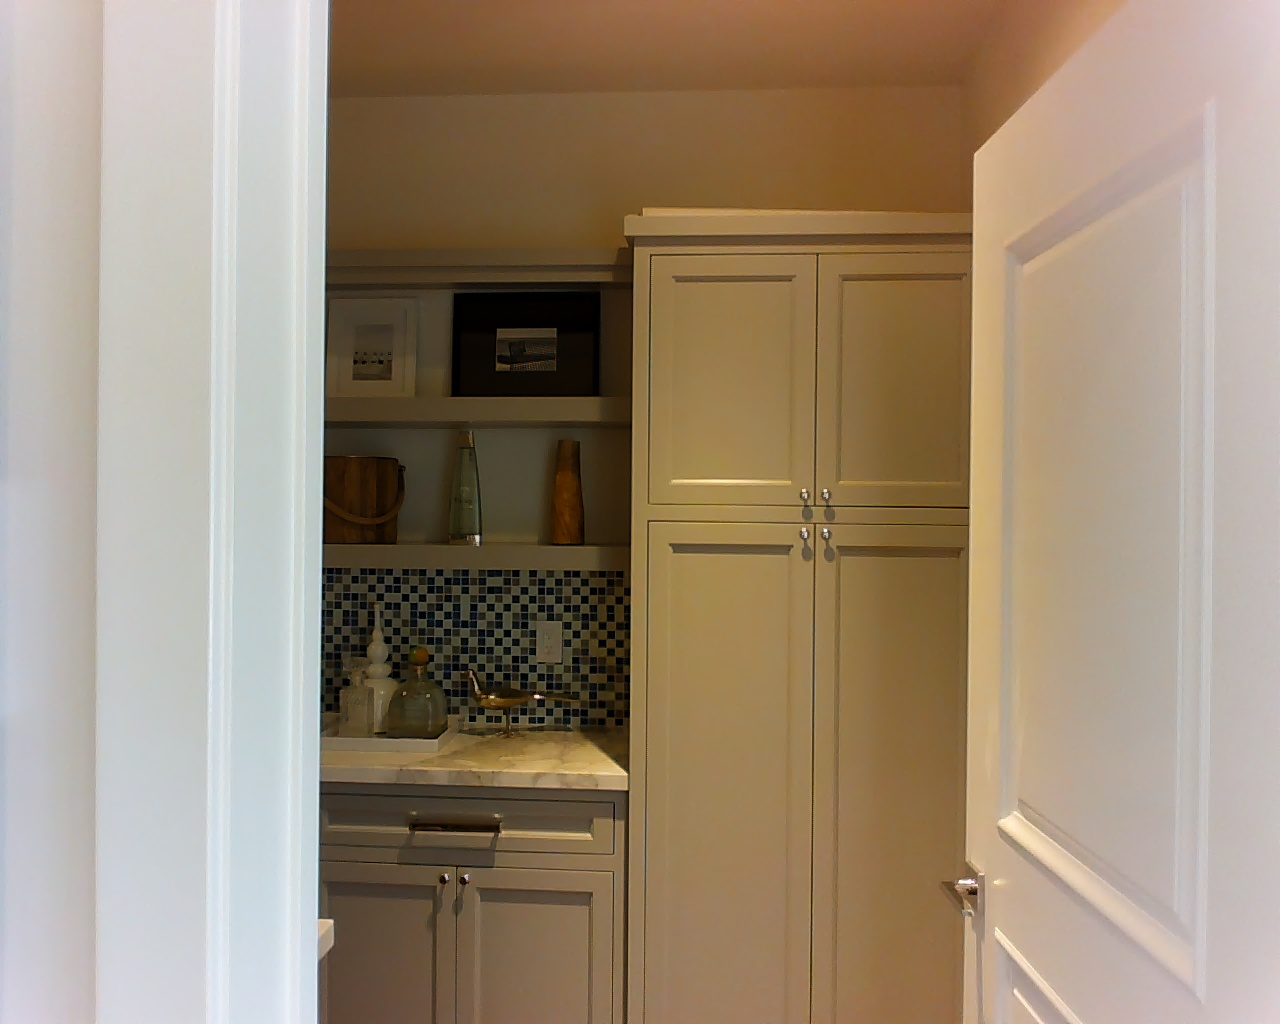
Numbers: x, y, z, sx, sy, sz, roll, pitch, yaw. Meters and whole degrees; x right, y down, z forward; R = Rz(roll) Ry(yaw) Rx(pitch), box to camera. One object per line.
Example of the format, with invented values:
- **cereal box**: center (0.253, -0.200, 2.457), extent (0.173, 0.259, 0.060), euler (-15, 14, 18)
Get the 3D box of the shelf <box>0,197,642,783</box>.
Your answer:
- **shelf**: center (-0.840, -0.060, 2.880), extent (1.640, 1.380, 0.580), euler (1, 0, 5)
